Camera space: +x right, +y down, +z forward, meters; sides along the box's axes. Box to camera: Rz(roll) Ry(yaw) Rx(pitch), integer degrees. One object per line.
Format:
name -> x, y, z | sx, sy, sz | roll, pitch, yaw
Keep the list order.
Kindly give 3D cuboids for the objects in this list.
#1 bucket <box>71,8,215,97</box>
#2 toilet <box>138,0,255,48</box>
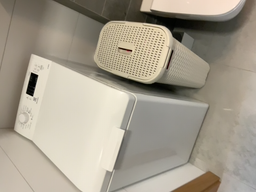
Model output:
bucket -> 0.120, -0.250, 1.340 | 0.560, 0.690, 0.290 | 24, 100, 37
toilet -> 0.440, -0.560, 1.210 | 0.510, 0.450, 0.370 | 24, 100, 37
